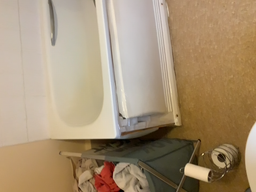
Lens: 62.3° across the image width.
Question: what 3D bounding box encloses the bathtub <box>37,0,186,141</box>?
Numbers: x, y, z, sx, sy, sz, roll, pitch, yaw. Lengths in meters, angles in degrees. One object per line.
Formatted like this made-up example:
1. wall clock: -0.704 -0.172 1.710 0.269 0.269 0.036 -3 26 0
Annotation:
1. bathtub: -0.180 -0.590 1.520 0.700 0.620 1.700 -12 83 43
